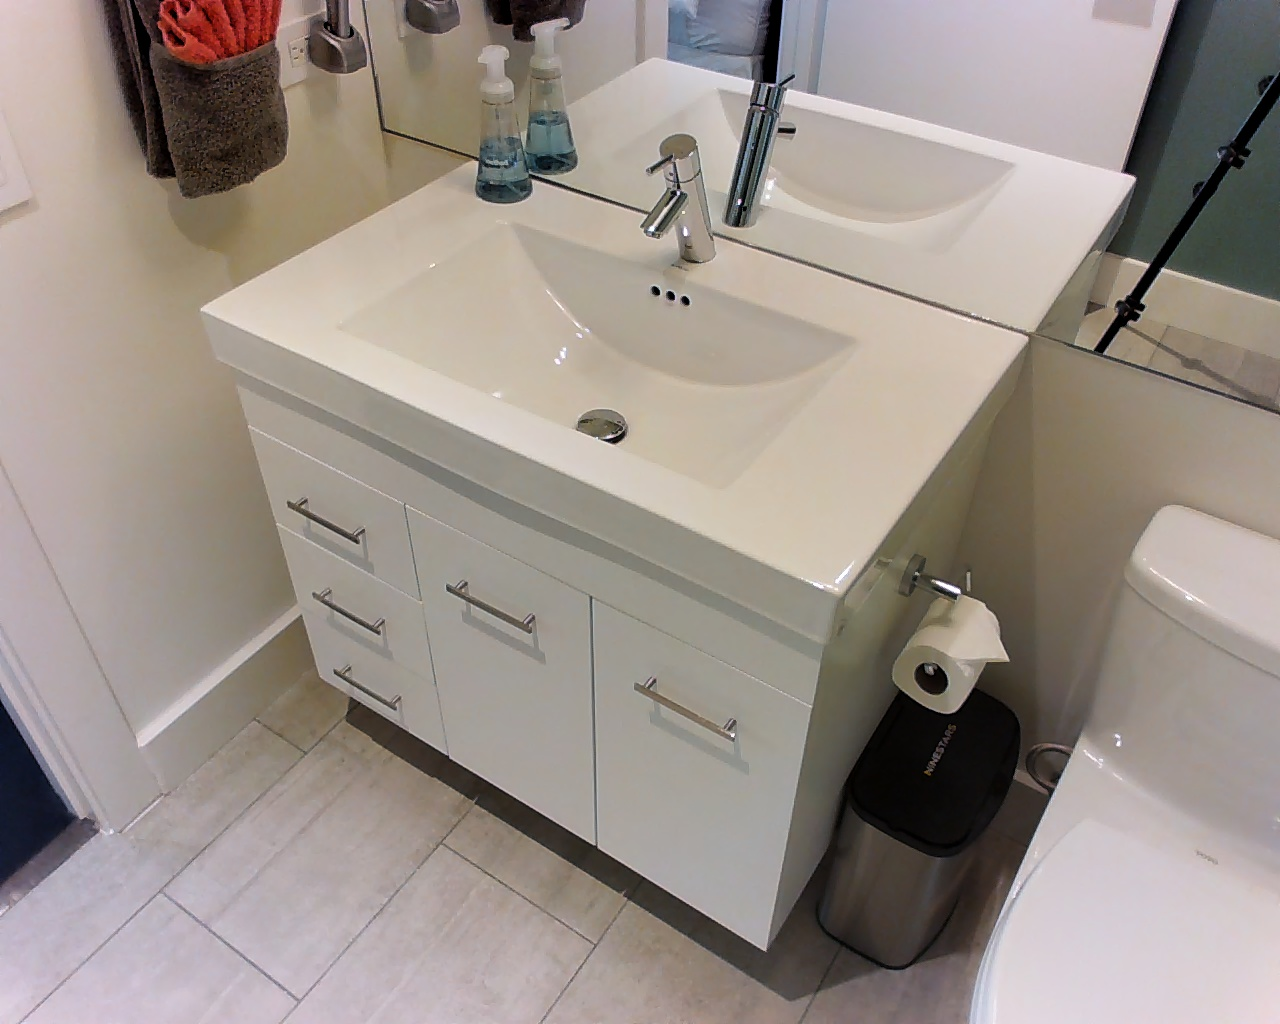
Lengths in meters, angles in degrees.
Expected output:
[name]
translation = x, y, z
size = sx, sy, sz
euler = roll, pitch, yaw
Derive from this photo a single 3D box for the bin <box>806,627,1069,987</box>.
[bin]
translation = 0.430, 0.430, 1.580
size = 0.210, 0.350, 0.320
euler = 24, 47, 23
